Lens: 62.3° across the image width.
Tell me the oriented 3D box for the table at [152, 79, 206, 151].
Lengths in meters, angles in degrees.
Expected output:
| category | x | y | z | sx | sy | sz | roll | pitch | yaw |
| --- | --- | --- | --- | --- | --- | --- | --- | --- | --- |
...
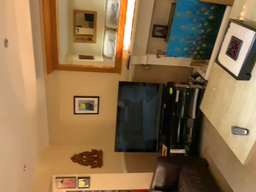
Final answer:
| category | x | y | z | sx | sy | sz | roll | pitch | yaw |
| --- | --- | --- | --- | --- | --- | --- | --- | --- | --- |
| table | 0.740 | 0.260 | 3.230 | 0.590 | 0.520 | 0.970 | -137 | 50 | -76 |
